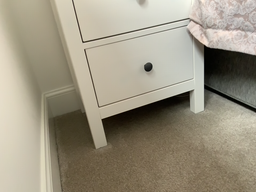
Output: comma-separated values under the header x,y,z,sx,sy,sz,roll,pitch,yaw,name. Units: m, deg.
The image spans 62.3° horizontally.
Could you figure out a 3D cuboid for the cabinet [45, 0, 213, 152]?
x,y,z,sx,sy,sz,roll,pitch,yaw,name
-0.010,-0.240,0.860,0.510,0.660,0.410,-18,26,-17,cabinet
